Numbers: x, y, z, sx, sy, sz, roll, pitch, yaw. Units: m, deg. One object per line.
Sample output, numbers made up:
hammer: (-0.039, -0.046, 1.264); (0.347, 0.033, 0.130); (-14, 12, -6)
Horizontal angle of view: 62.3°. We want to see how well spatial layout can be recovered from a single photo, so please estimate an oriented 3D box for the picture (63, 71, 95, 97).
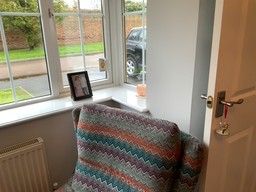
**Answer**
picture: (-0.390, -0.100, 1.680); (0.200, 0.160, 0.130); (-13, 21, -33)
